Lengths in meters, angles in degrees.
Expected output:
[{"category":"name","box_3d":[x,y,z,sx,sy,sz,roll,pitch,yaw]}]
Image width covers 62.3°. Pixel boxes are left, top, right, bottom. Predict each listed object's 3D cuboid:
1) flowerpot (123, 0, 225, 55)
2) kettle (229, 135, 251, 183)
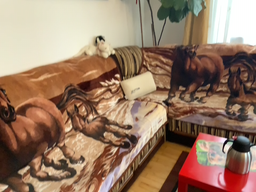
[{"category":"flowerpot","box_3d":[0.460,-1.460,2.450,0.890,1.720,1.010,-6,23,-11]},{"category":"kettle","box_3d":[0.690,0.380,1.300,0.080,0.190,0.190,10,25,27]}]
